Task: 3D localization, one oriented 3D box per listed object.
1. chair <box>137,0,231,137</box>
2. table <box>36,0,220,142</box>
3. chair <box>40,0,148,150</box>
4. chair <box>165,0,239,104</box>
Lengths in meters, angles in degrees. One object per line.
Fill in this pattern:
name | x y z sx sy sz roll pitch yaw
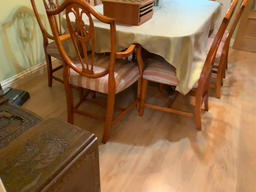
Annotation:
chair | 0.410 -0.260 1.670 0.470 0.980 0.470 16 35 20
table | 0.200 -0.560 2.320 1.110 0.780 1.850 17 35 21
chair | -0.190 -0.190 1.520 0.490 0.980 0.460 13 34 15
chair | 0.710 -0.500 2.070 0.440 0.980 0.470 16 35 20
